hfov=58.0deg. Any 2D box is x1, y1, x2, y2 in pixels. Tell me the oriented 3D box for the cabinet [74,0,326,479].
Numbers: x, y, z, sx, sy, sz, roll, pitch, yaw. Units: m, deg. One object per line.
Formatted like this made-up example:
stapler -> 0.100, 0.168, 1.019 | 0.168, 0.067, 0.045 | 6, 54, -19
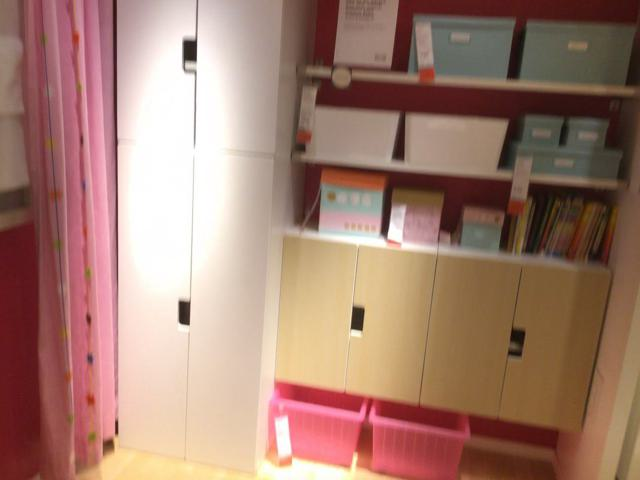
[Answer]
cabinet -> -0.440, -0.070, 2.320 | 0.760, 1.900, 0.530 | 5, 13, 13
